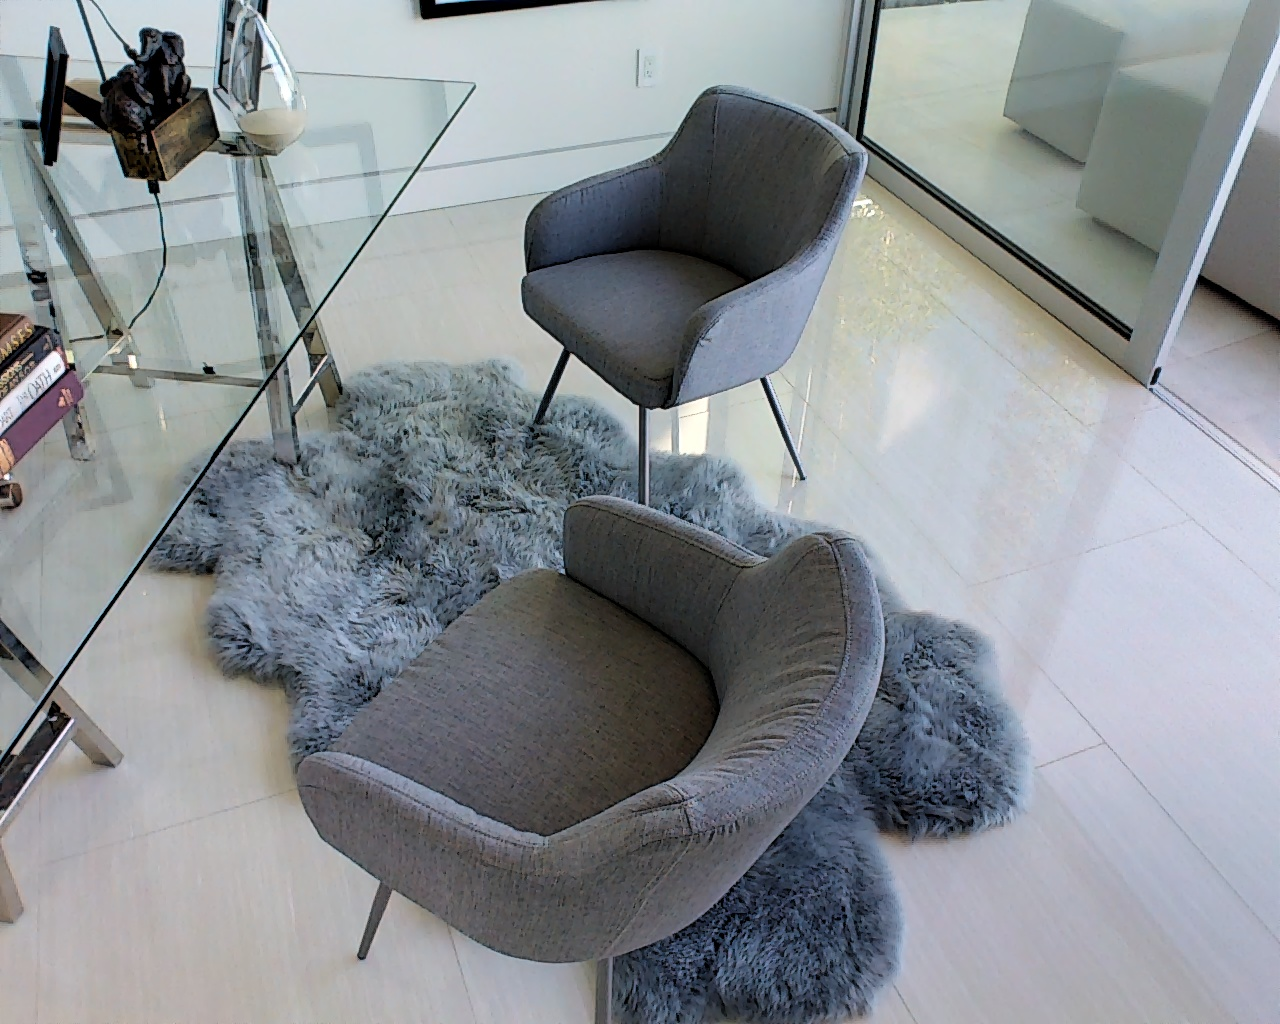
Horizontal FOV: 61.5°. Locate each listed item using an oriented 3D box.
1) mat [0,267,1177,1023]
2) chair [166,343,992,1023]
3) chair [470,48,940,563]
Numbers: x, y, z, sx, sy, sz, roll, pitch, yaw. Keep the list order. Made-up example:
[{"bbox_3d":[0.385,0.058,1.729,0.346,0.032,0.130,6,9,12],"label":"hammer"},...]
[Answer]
[{"bbox_3d":[-0.210,0.140,2.180,2.030,0.090,1.360,34,51,31],"label":"mat"},{"bbox_3d":[-0.060,0.340,1.420,0.660,0.750,0.610,29,49,28],"label":"chair"},{"bbox_3d":[0.110,-0.470,2.350,0.690,0.760,0.620,-21,46,-23],"label":"chair"}]
